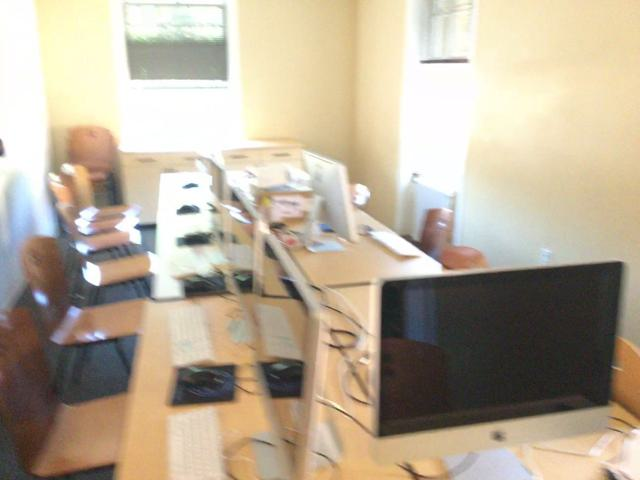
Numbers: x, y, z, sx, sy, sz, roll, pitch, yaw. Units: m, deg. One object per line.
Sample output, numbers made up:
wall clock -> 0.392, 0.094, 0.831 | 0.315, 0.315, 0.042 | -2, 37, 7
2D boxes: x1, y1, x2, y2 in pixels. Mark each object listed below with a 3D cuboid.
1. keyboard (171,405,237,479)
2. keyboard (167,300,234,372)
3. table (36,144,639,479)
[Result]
keyboard -> -0.240, 0.470, 1.190 | 0.120, 0.030, 0.440 | -3, 14, -15
keyboard -> -0.390, 0.290, 1.830 | 0.180, 0.030, 0.470 | -3, 14, -15
table -> -0.290, 0.220, 2.940 | 1.200, 1.060, 4.430 | -3, 14, -15
